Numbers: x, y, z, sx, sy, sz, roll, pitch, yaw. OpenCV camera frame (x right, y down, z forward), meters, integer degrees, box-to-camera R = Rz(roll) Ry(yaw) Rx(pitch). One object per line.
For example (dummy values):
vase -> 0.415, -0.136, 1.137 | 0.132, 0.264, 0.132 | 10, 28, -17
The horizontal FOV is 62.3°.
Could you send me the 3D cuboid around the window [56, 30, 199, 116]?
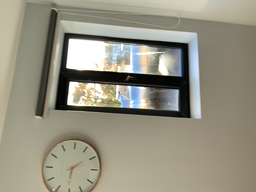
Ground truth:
window -> 0.020, -0.220, 2.280 | 0.280, 1.400, 0.760 | 119, 154, -77
